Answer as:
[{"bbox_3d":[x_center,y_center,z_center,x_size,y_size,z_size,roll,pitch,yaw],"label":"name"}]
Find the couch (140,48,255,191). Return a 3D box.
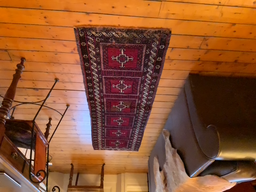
[{"bbox_3d":[0.850,0.710,2.400,1.060,0.860,2.440,2,144,-5],"label":"couch"}]
